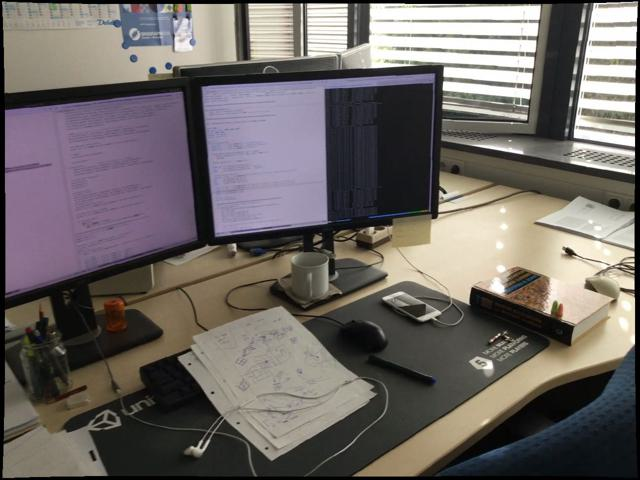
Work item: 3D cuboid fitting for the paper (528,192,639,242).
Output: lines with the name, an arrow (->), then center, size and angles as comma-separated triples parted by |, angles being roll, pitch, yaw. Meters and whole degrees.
paper -> 0.839, -0.080, 1.800 | 0.330, 0.020, 0.220 | -19, 29, -36

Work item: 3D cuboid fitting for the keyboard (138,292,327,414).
keyboard -> -0.160, 0.200, 1.100 | 0.310, 0.050, 0.170 | -19, 29, -36

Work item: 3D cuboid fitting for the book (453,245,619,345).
book -> 0.470, 0.110, 1.280 | 0.190, 0.070, 0.280 | -19, 29, -35

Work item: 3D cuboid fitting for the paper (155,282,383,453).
paper -> -0.110, 0.210, 1.090 | 0.230, 0.060, 0.410 | -19, 29, -35
